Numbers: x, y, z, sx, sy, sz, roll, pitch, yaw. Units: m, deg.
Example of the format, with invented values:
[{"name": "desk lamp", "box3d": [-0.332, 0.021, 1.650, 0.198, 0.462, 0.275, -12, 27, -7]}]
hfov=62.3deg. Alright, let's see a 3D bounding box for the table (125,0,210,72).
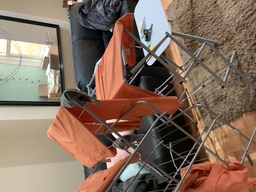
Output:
[{"name": "table", "box3d": [0.330, -0.670, 2.010, 0.400, 0.470, 0.750, -51, 44, 50]}]
